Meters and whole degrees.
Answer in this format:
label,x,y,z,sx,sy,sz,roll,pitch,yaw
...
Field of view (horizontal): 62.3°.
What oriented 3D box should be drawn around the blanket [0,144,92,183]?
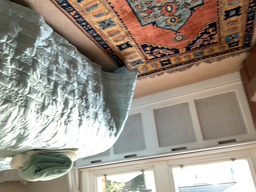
label,x,y,z,sx,sy,sz,roll,pitch,yaw
blanket,-0.550,0.440,1.340,0.480,0.160,0.420,-13,158,19
